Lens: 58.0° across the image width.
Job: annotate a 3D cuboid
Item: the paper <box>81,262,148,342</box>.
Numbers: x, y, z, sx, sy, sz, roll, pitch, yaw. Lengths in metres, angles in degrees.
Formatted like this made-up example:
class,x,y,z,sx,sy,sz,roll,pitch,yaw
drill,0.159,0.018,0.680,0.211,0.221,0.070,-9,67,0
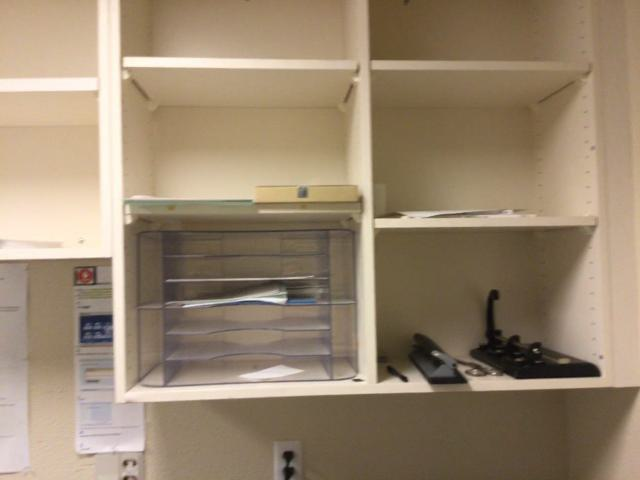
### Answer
class,x,y,z,sx,sy,sz,roll,pitch,yaw
paper,-0.500,0.150,1.410,0.150,0.190,0.020,-1,-6,-4

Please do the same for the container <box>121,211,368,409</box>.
class,x,y,z,sx,sy,sz,roll,pitch,yaw
container,-0.160,0.150,1.320,0.480,0.380,0.350,-1,-6,-4

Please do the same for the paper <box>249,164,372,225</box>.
class,x,y,z,sx,sy,sz,roll,pitch,yaw
paper,-0.030,-0.090,1.260,0.230,0.070,0.350,-1,-6,-4

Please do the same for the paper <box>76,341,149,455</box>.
class,x,y,z,sx,sy,sz,roll,pitch,yaw
paper,-0.500,0.380,1.400,0.160,0.260,0.030,-1,-6,-4
